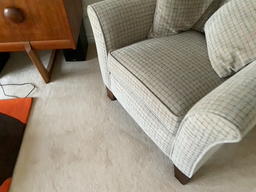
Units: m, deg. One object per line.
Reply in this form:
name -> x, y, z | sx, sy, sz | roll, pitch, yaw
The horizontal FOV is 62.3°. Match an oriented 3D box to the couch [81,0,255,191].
couch -> 0.410, -0.270, 1.060 | 0.940, 0.820, 0.760 | -33, 57, -24
